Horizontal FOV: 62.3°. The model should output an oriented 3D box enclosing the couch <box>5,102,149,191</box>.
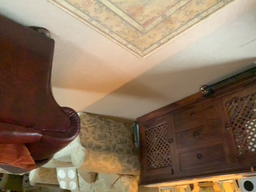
[{"bbox_3d":[-0.780,0.890,3.080,1.120,0.790,1.840,24,145,-38],"label":"couch"}]
